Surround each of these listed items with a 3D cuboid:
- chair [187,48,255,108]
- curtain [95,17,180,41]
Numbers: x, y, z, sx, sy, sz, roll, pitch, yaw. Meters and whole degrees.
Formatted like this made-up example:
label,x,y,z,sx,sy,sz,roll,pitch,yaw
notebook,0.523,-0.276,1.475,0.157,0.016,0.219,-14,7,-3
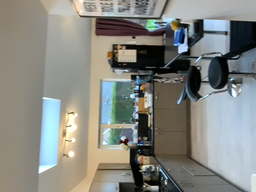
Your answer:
label,x,y,z,sx,sy,sz,roll,pitch,yaw
chair,1.140,-0.190,2.380,0.520,0.760,0.390,95,175,-46
curtain,0.250,-1.770,5.640,0.410,2.190,0.380,109,163,-78
